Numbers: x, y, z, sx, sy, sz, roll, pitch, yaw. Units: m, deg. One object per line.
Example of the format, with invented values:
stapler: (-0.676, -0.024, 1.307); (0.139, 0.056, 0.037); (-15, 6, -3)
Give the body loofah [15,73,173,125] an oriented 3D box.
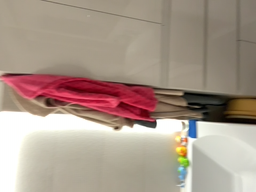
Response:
body loofah: (-0.190, 0.030, 1.220); (0.450, 0.740, 0.200); (178, 95, -71)
